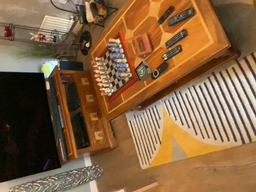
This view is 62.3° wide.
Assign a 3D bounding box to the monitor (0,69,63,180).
[{"bbox_3d":[-1.210,0.260,2.440,0.080,0.700,1.220,-33,66,46],"label":"monitor"}]
